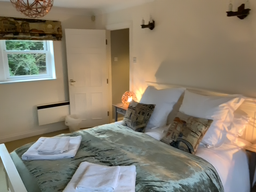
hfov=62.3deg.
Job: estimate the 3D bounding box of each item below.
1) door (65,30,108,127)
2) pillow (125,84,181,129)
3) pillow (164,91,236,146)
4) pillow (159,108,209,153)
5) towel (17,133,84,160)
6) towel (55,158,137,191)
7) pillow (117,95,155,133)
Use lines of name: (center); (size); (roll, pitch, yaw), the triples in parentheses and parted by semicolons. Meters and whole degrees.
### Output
door: (-0.800, -0.330, 4.250); (0.760, 1.890, 0.050); (-4, 13, -17)
pillow: (0.320, 0.110, 2.780); (0.550, 0.420, 0.480); (-9, 15, -35)
pillow: (0.740, 0.200, 2.260); (0.350, 0.380, 0.620); (-10, 15, -37)
pillow: (0.550, 0.330, 2.100); (0.350, 0.330, 0.130); (17, -23, 50)
towel: (-0.690, 0.460, 1.980); (0.470, 0.060, 0.420); (0, 12, 0)
towel: (-0.180, 0.550, 1.420); (0.450, 0.050, 0.400); (1, 12, 6)
pillow: (0.090, 0.210, 2.620); (0.160, 0.360, 0.340); (30, -8, -39)
